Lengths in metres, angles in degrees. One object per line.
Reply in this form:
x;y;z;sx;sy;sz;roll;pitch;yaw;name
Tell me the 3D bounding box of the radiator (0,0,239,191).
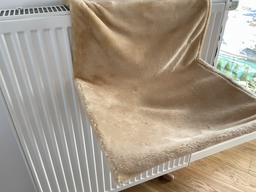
-0.020;0.140;0.990;0.880;1.100;0.150;-13;35;-20;radiator
